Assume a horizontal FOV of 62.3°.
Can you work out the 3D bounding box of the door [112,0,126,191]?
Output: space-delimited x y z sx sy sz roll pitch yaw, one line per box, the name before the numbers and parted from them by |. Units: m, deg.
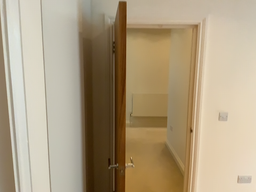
door | -0.090 0.400 1.730 0.070 2.110 0.800 0 10 -5
